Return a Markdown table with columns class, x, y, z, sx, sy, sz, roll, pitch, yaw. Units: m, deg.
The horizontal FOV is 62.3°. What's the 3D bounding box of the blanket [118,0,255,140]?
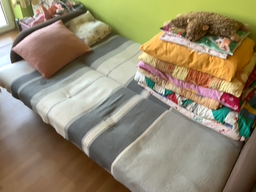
| class | x | y | z | sx | sy | sz | roll | pitch | yaw |
| --- | --- | --- | --- | --- | --- | --- | --- | --- | --- |
| blanket | 0.480 | -0.280 | 1.550 | 0.920 | 0.560 | 0.600 | 28 | 46 | 24 |
